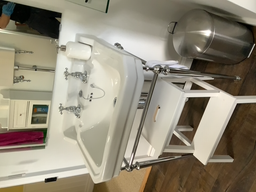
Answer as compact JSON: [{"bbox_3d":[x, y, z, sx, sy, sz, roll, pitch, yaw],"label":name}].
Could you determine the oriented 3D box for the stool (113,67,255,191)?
[{"bbox_3d":[0.330,0.160,1.300,0.550,0.570,0.490,37,119,52],"label":"stool"}]
